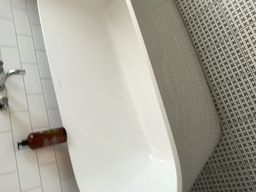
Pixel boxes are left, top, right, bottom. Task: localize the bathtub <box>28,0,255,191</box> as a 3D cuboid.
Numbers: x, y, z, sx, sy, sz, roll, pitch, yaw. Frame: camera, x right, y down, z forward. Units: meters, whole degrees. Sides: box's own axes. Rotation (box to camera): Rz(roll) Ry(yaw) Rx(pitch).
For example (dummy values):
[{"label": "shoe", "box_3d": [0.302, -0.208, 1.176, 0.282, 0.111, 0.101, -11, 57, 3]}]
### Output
[{"label": "bathtub", "box_3d": [-0.060, -0.220, 1.200, 0.770, 0.540, 1.720, -29, 71, 42]}]
